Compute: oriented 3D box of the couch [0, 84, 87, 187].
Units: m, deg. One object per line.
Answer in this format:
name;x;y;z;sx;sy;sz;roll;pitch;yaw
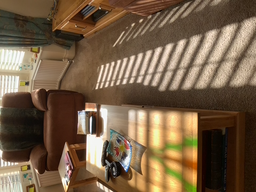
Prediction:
couch;-1.260;0.440;3.070;1.020;0.960;1.150;0;90;54
